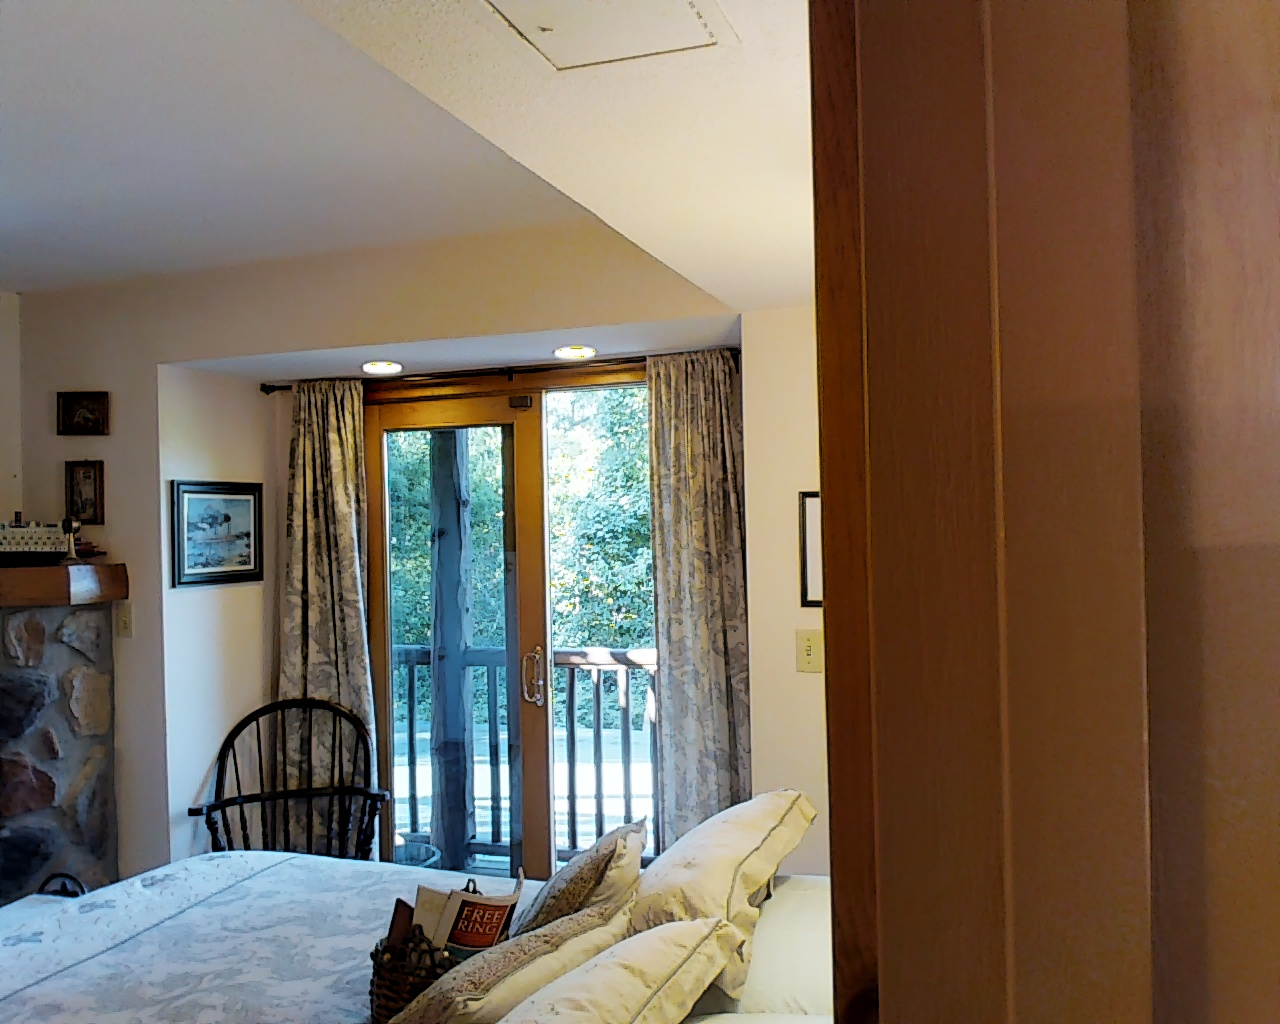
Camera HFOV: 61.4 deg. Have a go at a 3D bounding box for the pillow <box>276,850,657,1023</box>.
[{"bbox_3d":[-0.260,0.740,1.680,0.370,0.250,0.450,-2,-1,39],"label":"pillow"}]

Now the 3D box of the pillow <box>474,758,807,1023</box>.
[{"bbox_3d":[0.040,0.700,2.070,0.430,0.290,0.690,-2,-1,19],"label":"pillow"}]

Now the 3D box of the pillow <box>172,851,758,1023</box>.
[{"bbox_3d":[-0.180,0.740,1.430,0.520,0.330,0.720,-2,-1,19],"label":"pillow"}]

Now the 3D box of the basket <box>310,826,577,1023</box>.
[{"bbox_3d":[-0.340,0.730,1.920,0.370,0.240,0.290,-2,-1,17],"label":"basket"}]
